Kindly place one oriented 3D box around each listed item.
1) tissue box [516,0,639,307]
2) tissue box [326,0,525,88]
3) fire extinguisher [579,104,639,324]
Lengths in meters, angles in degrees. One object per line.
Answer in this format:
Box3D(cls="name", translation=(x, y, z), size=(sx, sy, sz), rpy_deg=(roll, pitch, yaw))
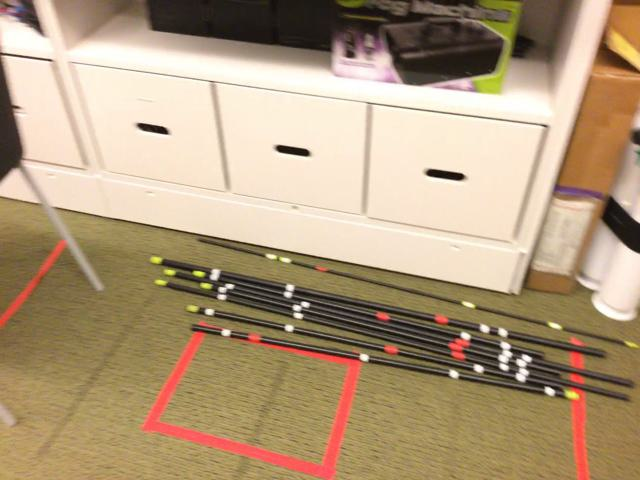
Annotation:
Box3D(cls="tissue box", translation=(0.650, -0.190, 1.410), size=(0.160, 0.700, 0.280), rpy_deg=(7, 41, 8))
Box3D(cls="tissue box", translation=(0.220, -0.470, 1.260), size=(0.390, 0.190, 0.150), rpy_deg=(7, 41, 8))
Box3D(cls="fire extinguisher", translation=(0.790, -0.080, 1.380), size=(0.140, 0.560, 0.230), rpy_deg=(7, 41, 8))
